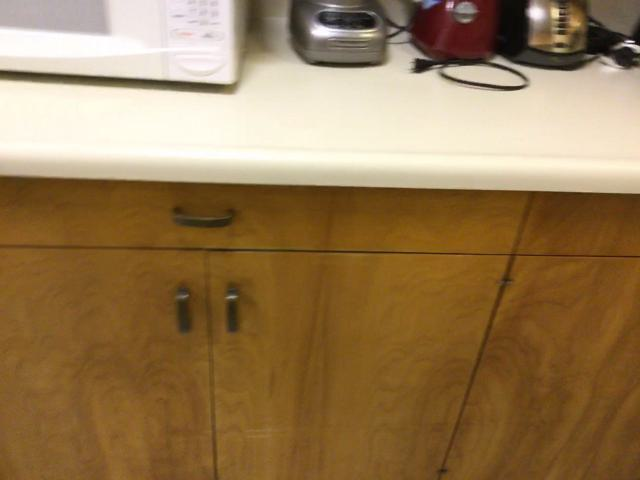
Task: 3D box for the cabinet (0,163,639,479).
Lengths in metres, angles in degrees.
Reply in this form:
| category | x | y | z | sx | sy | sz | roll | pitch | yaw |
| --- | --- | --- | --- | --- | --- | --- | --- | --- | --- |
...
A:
| category | x | y | z | sx | sy | sz | roll | pitch | yaw |
| --- | --- | --- | --- | --- | --- | --- | --- | --- | --- |
| cabinet | 0.670 | 0.260 | 1.120 | 2.760 | 0.800 | 0.070 | 1 | 35 | -6 |

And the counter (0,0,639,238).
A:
| category | x | y | z | sx | sy | sz | roll | pitch | yaw |
| --- | --- | --- | --- | --- | --- | --- | --- | --- | --- |
| counter | 0.660 | -0.330 | 1.060 | 2.720 | 0.320 | 0.690 | 1 | 35 | -6 |
